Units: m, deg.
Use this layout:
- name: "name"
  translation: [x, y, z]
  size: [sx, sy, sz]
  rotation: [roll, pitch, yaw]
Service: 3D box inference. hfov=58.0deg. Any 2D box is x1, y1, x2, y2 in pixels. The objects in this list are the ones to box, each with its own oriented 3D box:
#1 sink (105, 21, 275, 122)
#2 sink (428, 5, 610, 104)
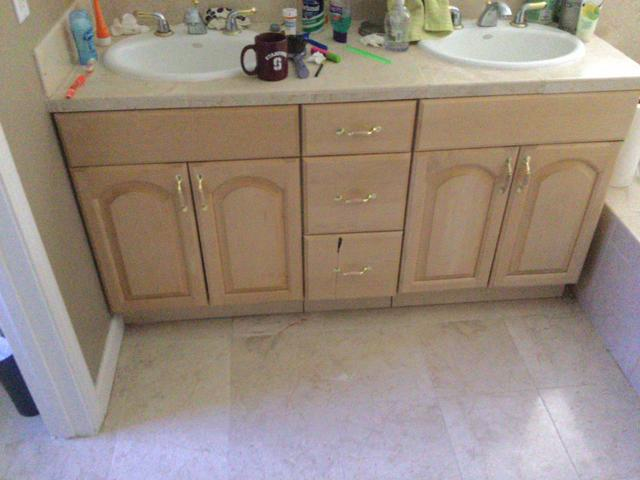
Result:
- name: "sink"
  translation: [-0.350, -0.500, 1.670]
  size: [0.420, 0.140, 0.400]
  rotation: [-4, 36, -4]
- name: "sink"
  translation: [0.570, -0.570, 1.740]
  size: [0.380, 0.160, 0.390]
  rotation: [-4, 36, -4]
